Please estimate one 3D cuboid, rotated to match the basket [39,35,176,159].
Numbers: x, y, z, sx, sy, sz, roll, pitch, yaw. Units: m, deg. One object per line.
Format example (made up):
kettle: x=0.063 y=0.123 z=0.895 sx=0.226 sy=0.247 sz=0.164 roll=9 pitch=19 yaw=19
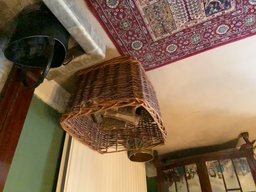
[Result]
basket: x=-0.080 y=0.060 z=1.300 sx=0.540 sy=0.370 sz=0.590 roll=-17 pitch=140 yaw=19
